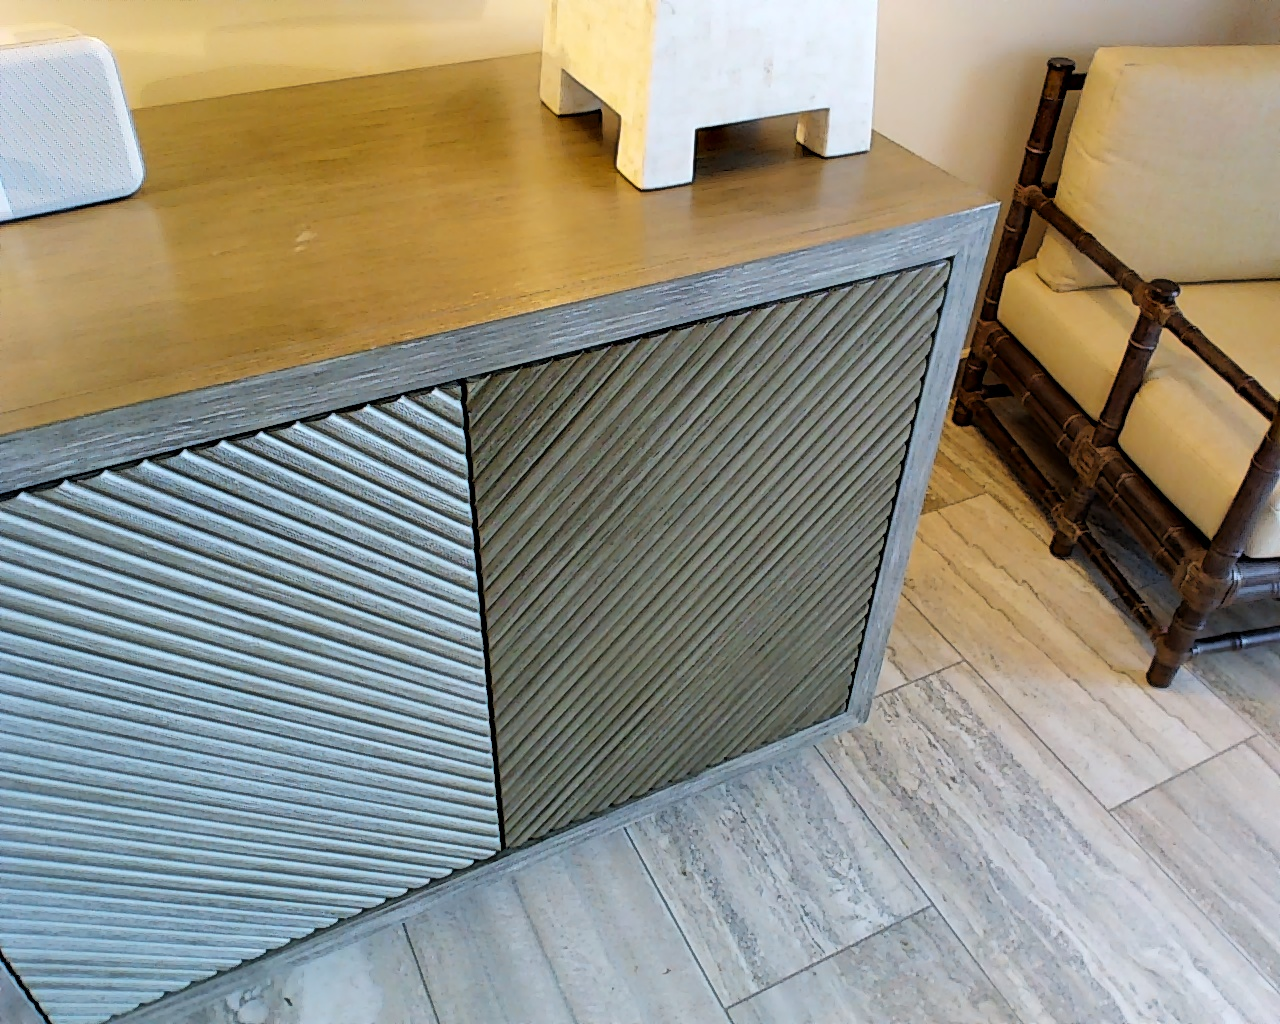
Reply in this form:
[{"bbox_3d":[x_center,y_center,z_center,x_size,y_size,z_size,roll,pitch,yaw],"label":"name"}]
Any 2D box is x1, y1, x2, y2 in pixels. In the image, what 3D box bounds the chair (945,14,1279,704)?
[{"bbox_3d":[1.050,-0.280,1.710,0.710,0.750,0.750,-7,41,-10],"label":"chair"}]
